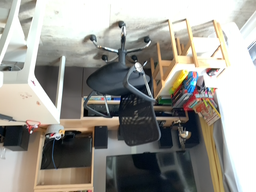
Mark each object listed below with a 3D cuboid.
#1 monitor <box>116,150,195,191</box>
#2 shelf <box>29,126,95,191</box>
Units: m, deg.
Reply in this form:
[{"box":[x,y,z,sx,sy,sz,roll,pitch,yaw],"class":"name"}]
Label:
[{"box":[0.280,0.850,2.250,0.810,0.520,0.030,-1,154,-1],"class":"monitor"},{"box":[-0.700,0.980,2.310,0.660,1.270,0.200,0,155,-7],"class":"shelf"}]
